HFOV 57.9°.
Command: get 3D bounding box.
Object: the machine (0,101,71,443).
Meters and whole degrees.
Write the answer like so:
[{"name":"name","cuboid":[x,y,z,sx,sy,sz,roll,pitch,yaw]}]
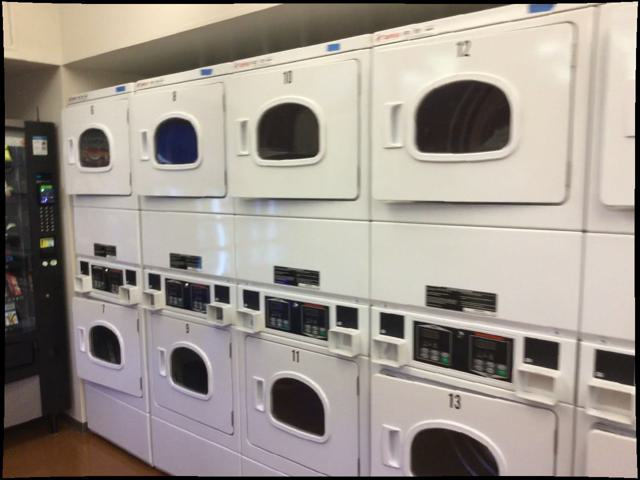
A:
[{"name":"machine","cuboid":[-1.878,0.180,3.020,0.850,1.762,0.400,-9,10,-44]}]
